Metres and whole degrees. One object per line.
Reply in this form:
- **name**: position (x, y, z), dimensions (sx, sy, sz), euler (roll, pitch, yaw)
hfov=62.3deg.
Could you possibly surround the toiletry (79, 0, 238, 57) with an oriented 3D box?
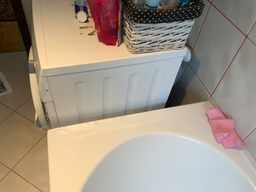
- **toiletry**: position (0.060, -0.360, 0.720), dimensions (0.420, 0.210, 0.390), euler (-8, 52, -15)
